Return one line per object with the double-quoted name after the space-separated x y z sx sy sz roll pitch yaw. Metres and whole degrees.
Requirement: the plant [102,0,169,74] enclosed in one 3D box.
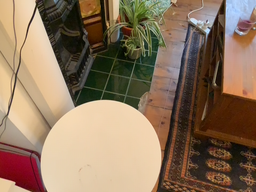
0.070 -0.520 1.570 0.360 0.440 0.480 13 58 6 "plant"
